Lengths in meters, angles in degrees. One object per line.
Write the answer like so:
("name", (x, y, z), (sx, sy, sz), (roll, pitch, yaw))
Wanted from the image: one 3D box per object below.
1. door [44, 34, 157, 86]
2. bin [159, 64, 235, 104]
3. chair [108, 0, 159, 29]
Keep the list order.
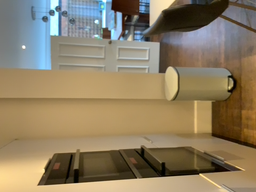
("door", (-0.480, -0.660, 4.090), (0.130, 2.110, 0.870), (-156, 67, -77))
("bin", (0.710, -0.120, 2.250), (0.390, 0.640, 0.380), (-163, 74, -78))
("chair", (0.090, -1.790, 4.450), (0.570, 0.950, 0.510), (-172, 83, -78))
